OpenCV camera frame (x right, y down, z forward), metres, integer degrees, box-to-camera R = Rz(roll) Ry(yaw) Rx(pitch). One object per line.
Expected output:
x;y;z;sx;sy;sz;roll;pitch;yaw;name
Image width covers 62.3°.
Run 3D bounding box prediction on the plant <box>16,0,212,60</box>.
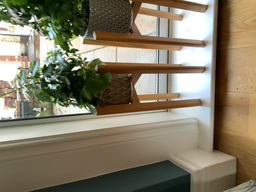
-0.030;-0.260;0.750;0.260;0.640;0.210;4;96;61;plant
